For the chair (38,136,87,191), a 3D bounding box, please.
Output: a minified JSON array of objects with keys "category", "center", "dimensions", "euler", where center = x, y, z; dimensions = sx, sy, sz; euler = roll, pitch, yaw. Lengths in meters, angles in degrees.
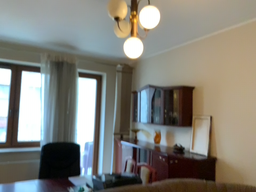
[{"category":"chair","center":[-0.870,1.140,2.830],"dimensions":[0.540,1.120,0.610],"euler":[3,-4,-16]}]
